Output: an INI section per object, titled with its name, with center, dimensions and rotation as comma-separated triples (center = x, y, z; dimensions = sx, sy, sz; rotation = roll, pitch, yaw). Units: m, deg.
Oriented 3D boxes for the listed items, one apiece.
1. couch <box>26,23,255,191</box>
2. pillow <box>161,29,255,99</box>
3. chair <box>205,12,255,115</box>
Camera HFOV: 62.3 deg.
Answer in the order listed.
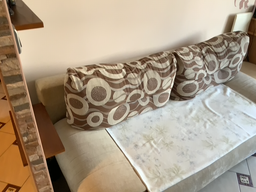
[couch]
center = 0.450, 0.090, 1.700
dimensions = 2.000, 0.880, 0.980
rotation = -18, 40, -28
[pillow]
center = 0.730, -0.320, 1.940
dimensions = 0.830, 0.430, 0.240
rotation = -18, 40, -28
[chair]
center = 1.330, -0.370, 2.390
dimensions = 0.380, 0.960, 0.540
rotation = -18, 40, -28
